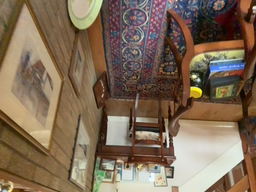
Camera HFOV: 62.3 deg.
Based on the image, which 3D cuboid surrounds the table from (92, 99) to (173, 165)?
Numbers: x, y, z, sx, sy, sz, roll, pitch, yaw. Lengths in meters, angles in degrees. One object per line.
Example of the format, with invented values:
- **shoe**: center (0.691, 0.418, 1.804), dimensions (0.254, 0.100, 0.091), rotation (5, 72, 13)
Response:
- **table**: center (0.070, 0.520, 3.050), dimensions (1.010, 0.780, 0.480), rotation (2, 151, 1)

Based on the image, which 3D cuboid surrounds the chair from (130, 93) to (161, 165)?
- **chair**: center (0.220, 0.430, 2.800), dimensions (0.350, 0.840, 0.420), rotation (2, 151, 1)

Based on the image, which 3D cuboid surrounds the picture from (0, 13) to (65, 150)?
- **picture**: center (-0.390, -0.020, 0.910), dimensions (0.040, 0.370, 0.510), rotation (3, 151, 1)
